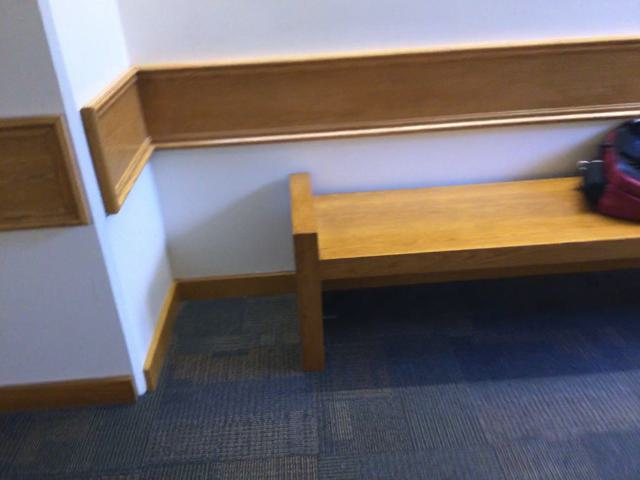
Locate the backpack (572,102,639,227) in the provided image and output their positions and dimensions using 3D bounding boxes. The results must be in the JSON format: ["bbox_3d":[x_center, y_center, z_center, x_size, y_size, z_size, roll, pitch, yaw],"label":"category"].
[{"bbox_3d":[1.100,-0.250,1.890,0.410,0.250,0.460,12,33,28],"label":"backpack"}]
